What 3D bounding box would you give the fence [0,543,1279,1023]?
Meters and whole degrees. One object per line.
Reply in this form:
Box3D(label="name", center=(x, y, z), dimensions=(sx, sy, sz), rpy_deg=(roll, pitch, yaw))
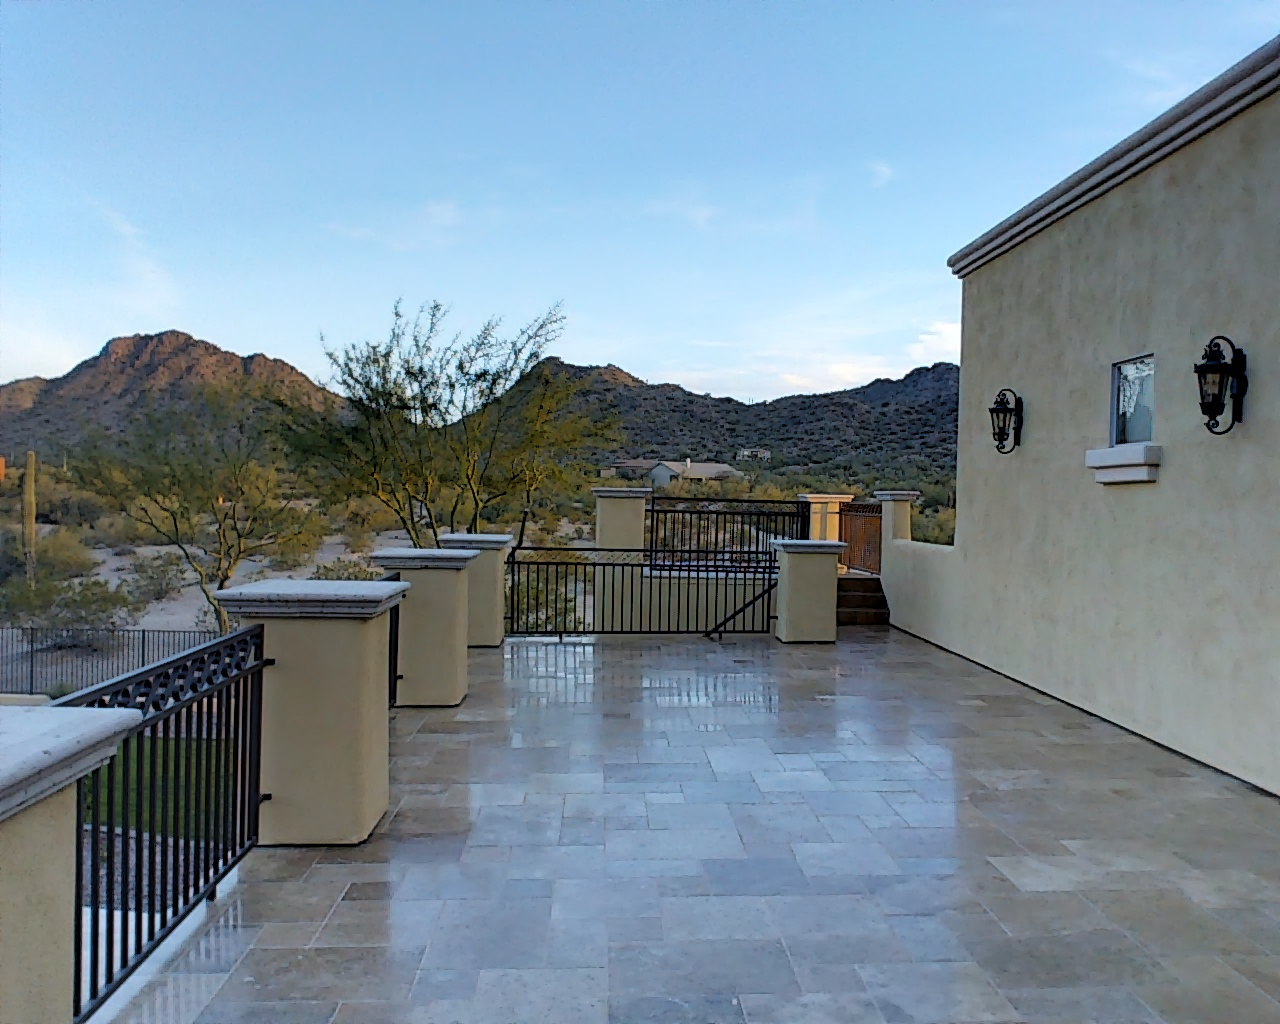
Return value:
Box3D(label="fence", center=(0.260, 1.110, 5.890), dimensions=(4.210, 1.320, 12.130), rpy_deg=(1, 1, -3))
